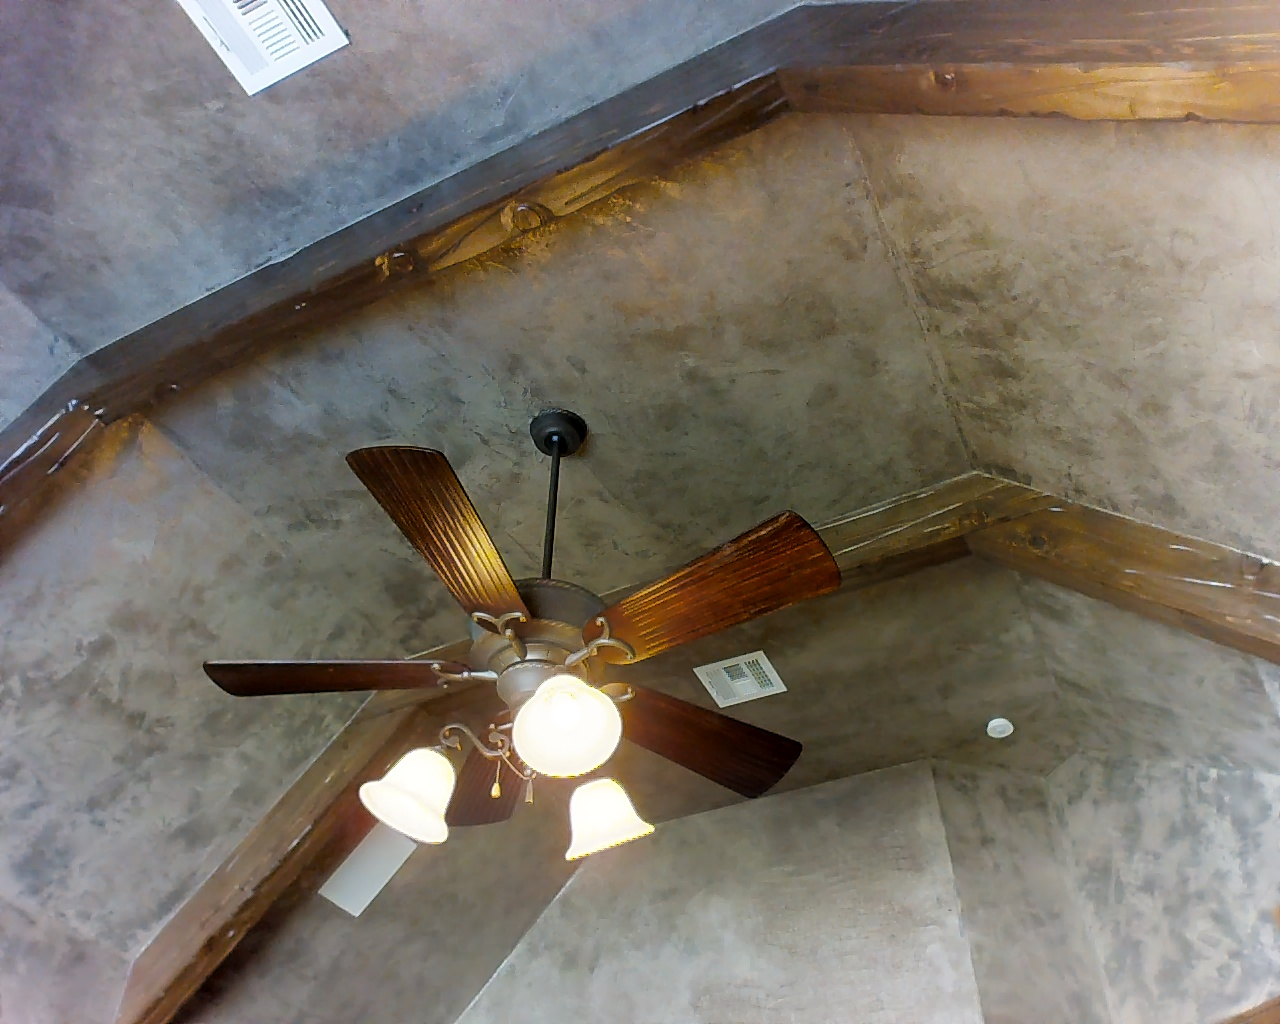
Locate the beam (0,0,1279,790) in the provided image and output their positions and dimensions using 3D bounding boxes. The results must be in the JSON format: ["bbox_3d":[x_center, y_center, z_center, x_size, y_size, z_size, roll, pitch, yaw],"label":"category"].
[{"bbox_3d":[-0.520,-0.220,2.020,3.579,1.160,0.220,-19,-48,18],"label":"beam"}]

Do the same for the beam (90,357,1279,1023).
[{"bbox_3d":[0.200,0.780,3.060,3.579,1.140,0.710,-19,-48,18],"label":"beam"}]
